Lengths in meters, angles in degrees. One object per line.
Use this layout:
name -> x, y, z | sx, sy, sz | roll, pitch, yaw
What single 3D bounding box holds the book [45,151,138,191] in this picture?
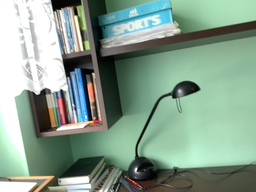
book -> -0.140, 0.350, 0.970 | 0.310, 0.070, 0.320 | -7, 5, 15
